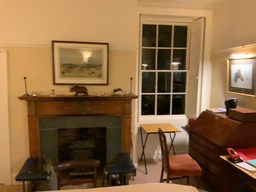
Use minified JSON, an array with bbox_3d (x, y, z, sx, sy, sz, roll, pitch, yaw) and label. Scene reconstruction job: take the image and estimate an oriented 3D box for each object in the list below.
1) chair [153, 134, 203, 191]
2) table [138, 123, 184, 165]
[{"bbox_3d":[0.670,0.970,2.980,0.550,0.770,0.450,0,7,-3],"label":"chair"},{"bbox_3d":[0.620,0.900,4.050,0.770,0.660,0.330,-1,7,-11],"label":"table"}]
